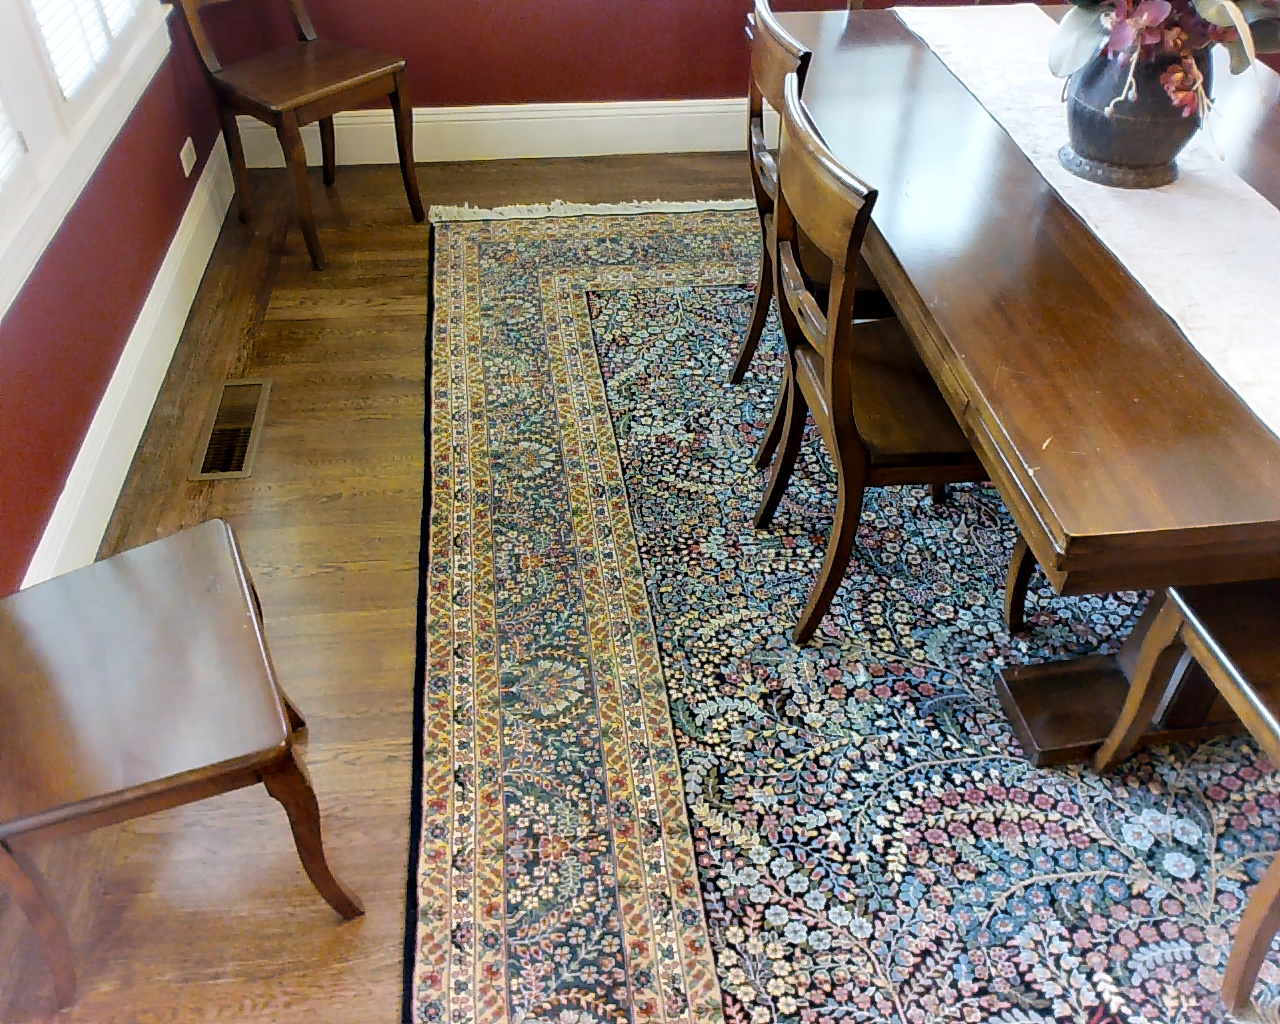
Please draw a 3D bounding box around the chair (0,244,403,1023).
[{"bbox_3d":[-0.730,0.240,1.410,0.580,0.940,0.460,-20,46,-21],"label":"chair"}]

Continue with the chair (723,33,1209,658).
[{"bbox_3d":[0.470,-0.260,1.890,0.500,0.940,0.470,-6,42,-8],"label":"chair"}]

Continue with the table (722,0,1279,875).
[{"bbox_3d":[0.900,-0.370,2.140,1.140,0.760,1.840,-4,42,-5],"label":"table"}]

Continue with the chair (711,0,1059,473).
[{"bbox_3d":[0.440,-0.610,2.270,0.460,0.910,0.510,-4,42,-5],"label":"chair"}]

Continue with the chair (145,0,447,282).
[{"bbox_3d":[-0.970,-1.260,3.060,0.510,0.950,0.520,28,49,27],"label":"chair"}]

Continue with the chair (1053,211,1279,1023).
[{"bbox_3d":[1.010,0.180,1.450,0.420,0.960,0.640,-4,42,-5],"label":"chair"}]
